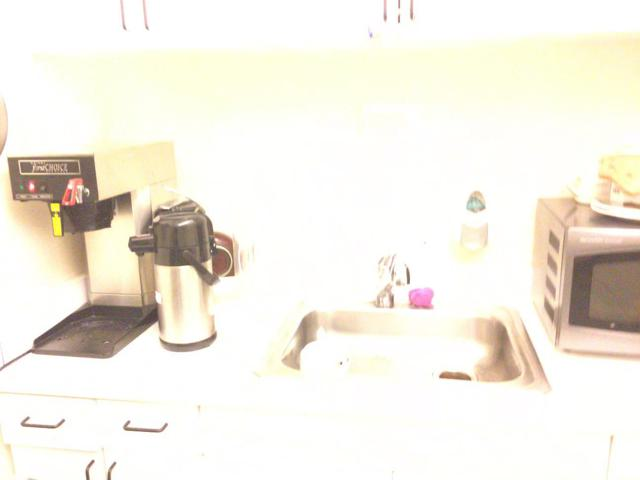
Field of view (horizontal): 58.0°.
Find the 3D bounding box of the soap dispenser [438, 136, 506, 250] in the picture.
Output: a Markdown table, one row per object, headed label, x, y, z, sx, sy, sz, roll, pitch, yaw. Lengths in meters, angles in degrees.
| label | x | y | z | sx | sy | sz | roll | pitch | yaw |
| --- | --- | --- | --- | --- | --- | --- | --- | --- | --- |
| soap dispenser | 0.410 | -0.130 | 1.570 | 0.160 | 0.290 | 0.120 | -2 | 11 | 8 |
